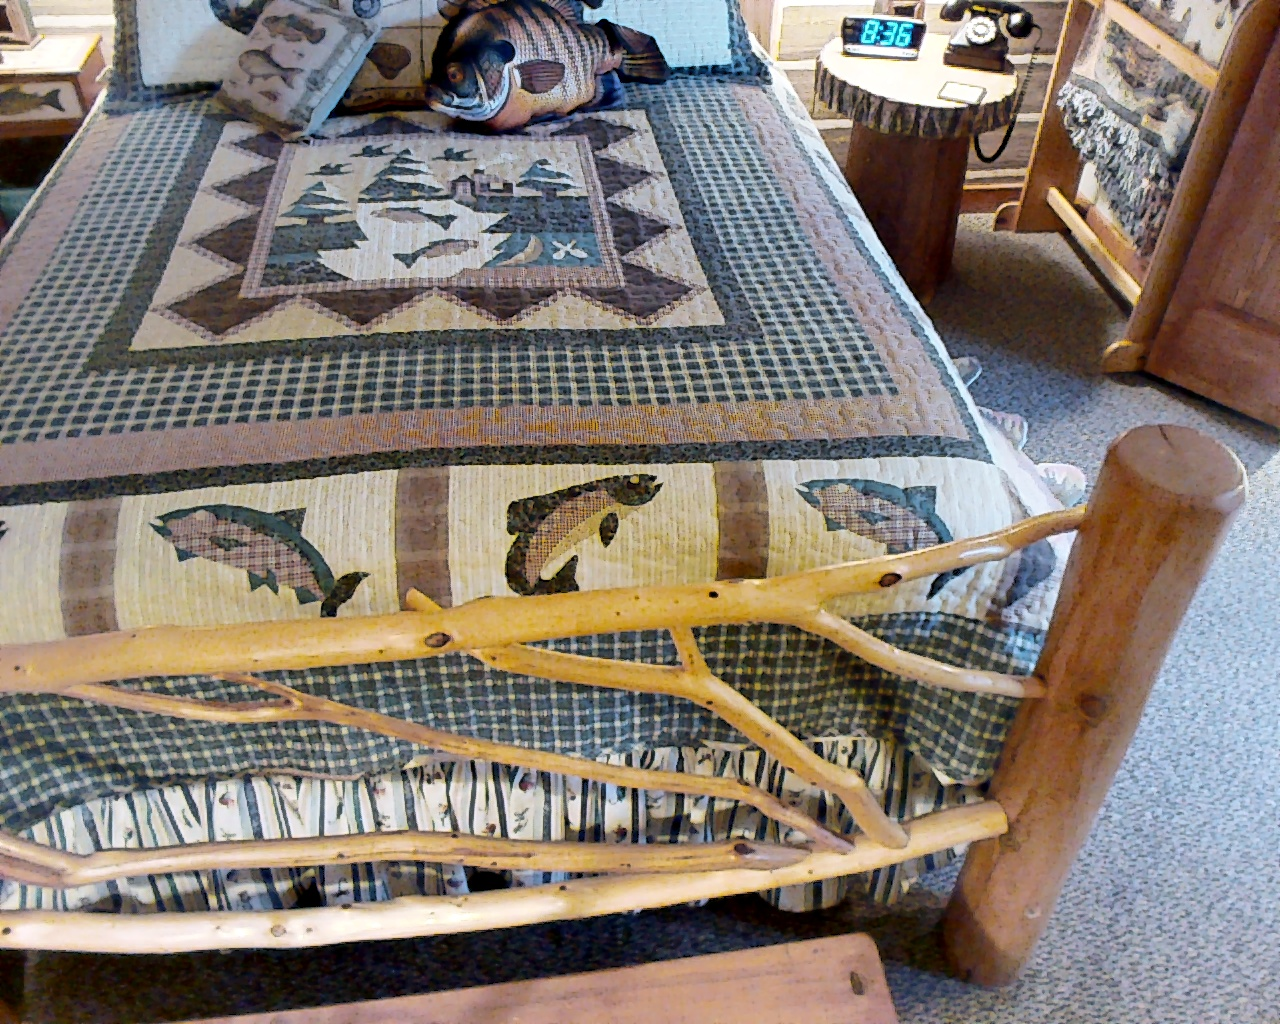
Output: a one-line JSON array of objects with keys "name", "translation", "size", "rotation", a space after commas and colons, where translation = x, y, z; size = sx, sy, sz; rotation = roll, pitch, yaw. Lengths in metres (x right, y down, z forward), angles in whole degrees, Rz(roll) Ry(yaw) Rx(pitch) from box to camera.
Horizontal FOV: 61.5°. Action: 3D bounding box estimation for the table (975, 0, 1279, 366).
[{"name": "table", "translation": [1.280, -1.030, 2.790], "size": [0.320, 0.940, 0.880], "rotation": [-5, 43, -6]}]
